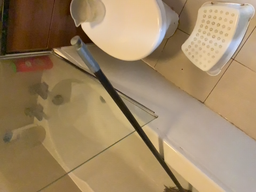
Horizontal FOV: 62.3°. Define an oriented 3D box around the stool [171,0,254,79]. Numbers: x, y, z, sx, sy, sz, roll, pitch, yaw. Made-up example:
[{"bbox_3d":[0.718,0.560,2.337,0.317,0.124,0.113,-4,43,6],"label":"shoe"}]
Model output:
[{"bbox_3d":[0.430,-0.310,1.120,0.230,0.140,0.350,40,124,22],"label":"stool"}]
